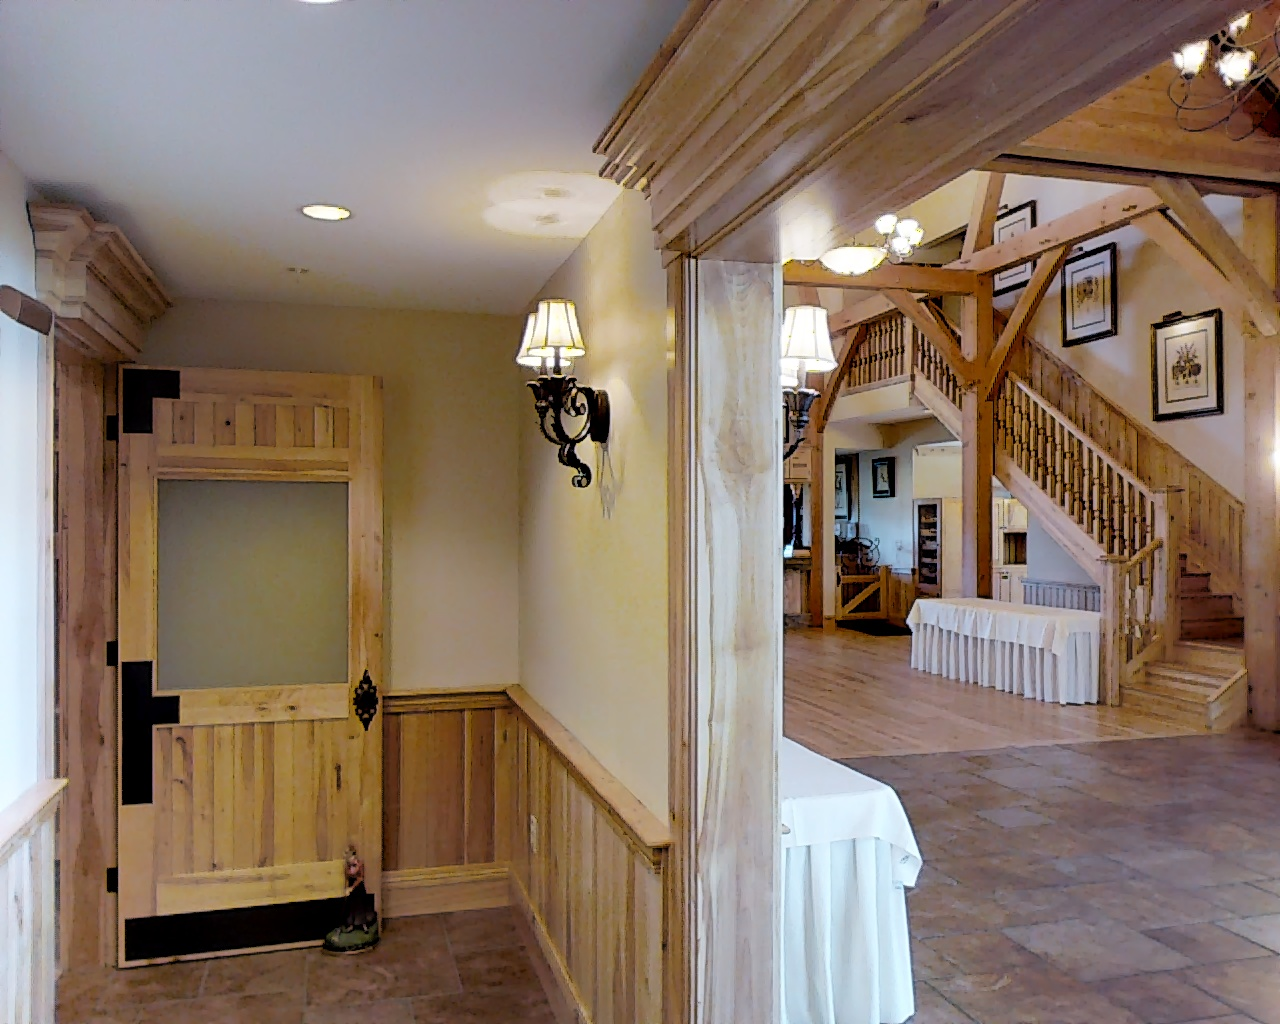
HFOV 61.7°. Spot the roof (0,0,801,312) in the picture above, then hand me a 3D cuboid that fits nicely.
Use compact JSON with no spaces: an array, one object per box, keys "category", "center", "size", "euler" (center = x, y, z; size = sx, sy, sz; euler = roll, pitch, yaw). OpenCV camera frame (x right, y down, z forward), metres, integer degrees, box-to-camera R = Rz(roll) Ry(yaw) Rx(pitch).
[{"category":"roof","center":[-0.520,-0.880,1.740],"size":[1.520,0.080,5.300],"euler":[0,0,-16]}]
